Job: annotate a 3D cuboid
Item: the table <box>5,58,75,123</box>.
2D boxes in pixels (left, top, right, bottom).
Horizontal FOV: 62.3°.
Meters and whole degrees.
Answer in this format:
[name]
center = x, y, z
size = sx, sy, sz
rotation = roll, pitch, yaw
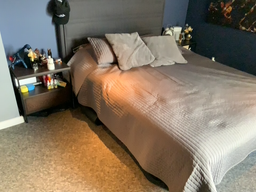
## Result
[table]
center = -1.010, -0.090, 2.490
size = 0.600, 0.510, 0.420
rotation = -17, 36, -33
